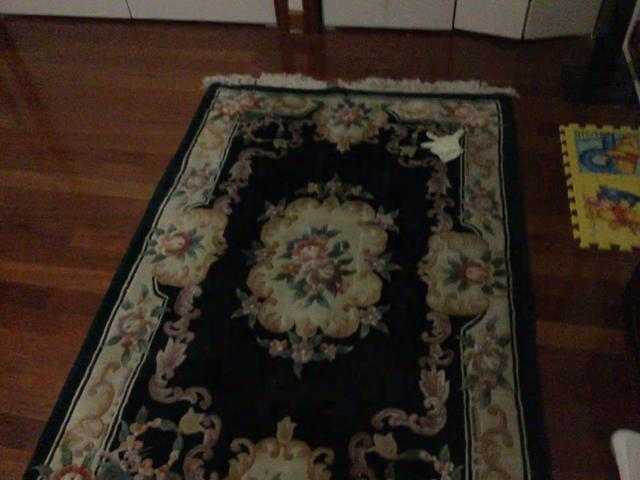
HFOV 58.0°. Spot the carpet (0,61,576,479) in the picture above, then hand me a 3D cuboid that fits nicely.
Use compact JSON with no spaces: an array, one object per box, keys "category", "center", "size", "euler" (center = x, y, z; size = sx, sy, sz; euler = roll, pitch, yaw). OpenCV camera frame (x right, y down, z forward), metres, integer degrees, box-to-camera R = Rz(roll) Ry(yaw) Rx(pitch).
[{"category":"carpet","center":[0.030,0.050,1.770],"size":[1.260,0.110,1.920],"euler":[6,49,7]}]
